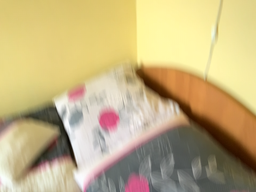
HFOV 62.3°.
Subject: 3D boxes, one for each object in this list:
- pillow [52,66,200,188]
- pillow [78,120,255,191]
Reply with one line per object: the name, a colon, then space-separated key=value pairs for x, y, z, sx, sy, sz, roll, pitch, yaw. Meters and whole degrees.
pillow: x=-0.080 y=0.080 z=1.270 sx=0.580 sy=0.150 sz=0.780 roll=-16 pitch=33 yaw=-21
pillow: x=0.200 y=0.390 z=0.770 sx=0.610 sy=0.200 sz=0.500 roll=-16 pitch=33 yaw=-21
